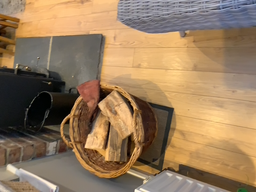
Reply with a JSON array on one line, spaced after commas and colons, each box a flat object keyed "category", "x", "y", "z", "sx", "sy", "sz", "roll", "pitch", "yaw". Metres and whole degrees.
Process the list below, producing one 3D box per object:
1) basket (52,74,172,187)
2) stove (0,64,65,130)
[{"category": "basket", "x": -0.100, "y": 0.150, "z": 1.280, "sx": 0.580, "sy": 0.360, "sz": 0.490, "roll": 7, "pitch": 92, "yaw": 33}, {"category": "stove", "x": -0.970, "y": -0.010, "z": 1.650, "sx": 0.610, "sy": 0.650, "sz": 0.420, "roll": 5, "pitch": 91, "yaw": 33}]
